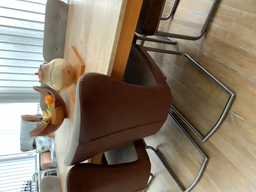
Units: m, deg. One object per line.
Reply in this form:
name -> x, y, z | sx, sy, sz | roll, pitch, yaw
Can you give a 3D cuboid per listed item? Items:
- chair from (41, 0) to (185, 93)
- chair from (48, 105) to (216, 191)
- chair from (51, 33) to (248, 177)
chair -> -0.160, -0.390, 1.660 | 0.620, 0.880, 0.480 | 52, 135, 48
chair -> -0.010, 0.410, 1.390 | 0.520, 0.880, 0.450 | 54, 135, 47
chair -> 0.080, 0.010, 1.210 | 0.530, 0.880, 0.460 | 54, 135, 47
